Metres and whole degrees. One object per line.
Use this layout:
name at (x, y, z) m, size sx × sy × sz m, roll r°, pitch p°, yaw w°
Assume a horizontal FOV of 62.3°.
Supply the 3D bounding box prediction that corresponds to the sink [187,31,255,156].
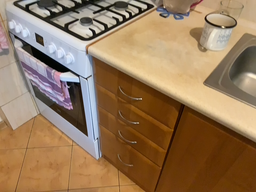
sink at (0.510, -0.010, 0.760) m, size 0.390 × 0.170 × 0.440 m, roll 31°, pitch 51°, yaw 25°
